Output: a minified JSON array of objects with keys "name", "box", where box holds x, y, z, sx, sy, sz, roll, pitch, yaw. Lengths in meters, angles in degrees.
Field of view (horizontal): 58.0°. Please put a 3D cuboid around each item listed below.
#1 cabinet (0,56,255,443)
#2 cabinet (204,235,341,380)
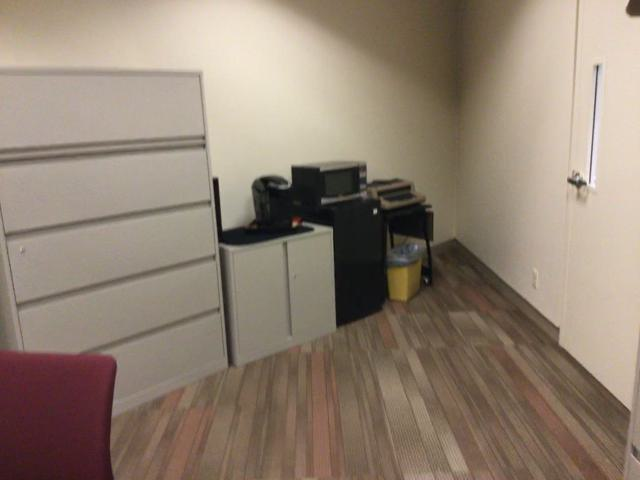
[{"name":"cabinet","box":[-0.920,-0.010,2.640,1.120,1.510,0.340,-7,10,-30]},{"name":"cabinet","box":[-0.260,0.350,3.280,0.650,0.660,0.350,-8,10,-33]}]
